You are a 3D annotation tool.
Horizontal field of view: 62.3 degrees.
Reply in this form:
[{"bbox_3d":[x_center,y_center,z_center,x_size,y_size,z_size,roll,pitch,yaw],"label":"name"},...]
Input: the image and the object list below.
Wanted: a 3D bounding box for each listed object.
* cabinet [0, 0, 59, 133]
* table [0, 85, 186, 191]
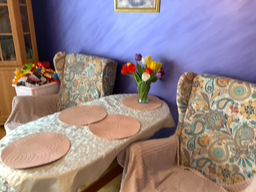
[{"bbox_3d":[-1.590,-0.640,2.820,0.810,1.950,0.760,16,26,34],"label":"cabinet"},{"bbox_3d":[-0.220,0.480,1.710,0.700,0.700,1.410,18,27,37],"label":"table"}]
